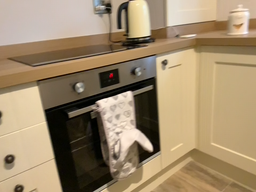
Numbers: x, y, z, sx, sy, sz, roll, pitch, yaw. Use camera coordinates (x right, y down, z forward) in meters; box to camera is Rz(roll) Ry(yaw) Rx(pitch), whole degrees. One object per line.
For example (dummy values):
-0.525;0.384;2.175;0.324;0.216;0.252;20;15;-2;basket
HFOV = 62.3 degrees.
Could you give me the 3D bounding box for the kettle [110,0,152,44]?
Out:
0.020;-0.440;1.270;0.180;0.230;0.150;-20;23;-36;kettle
